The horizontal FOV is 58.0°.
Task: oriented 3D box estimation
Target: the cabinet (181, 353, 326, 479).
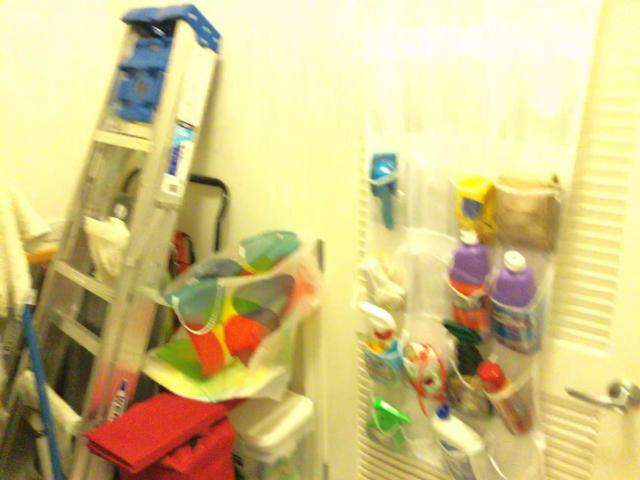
[{"bbox_3d":[-0.190,0.610,1.740,0.310,0.380,0.280,12,21,34],"label":"cabinet"}]
